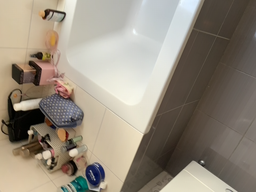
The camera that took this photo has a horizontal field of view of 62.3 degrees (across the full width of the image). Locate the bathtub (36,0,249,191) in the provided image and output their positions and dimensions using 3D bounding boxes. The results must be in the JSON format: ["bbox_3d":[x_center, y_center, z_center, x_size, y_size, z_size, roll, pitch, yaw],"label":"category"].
[{"bbox_3d":[0.140,-0.550,1.170,0.800,0.600,2.220,33,116,29],"label":"bathtub"}]
